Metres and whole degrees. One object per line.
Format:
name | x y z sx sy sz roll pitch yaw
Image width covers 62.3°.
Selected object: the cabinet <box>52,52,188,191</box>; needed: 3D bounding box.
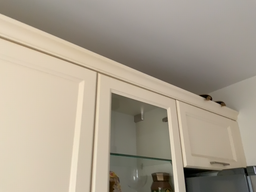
cabinet | -0.030 0.360 0.980 0.500 0.940 0.350 18 -30 -36
